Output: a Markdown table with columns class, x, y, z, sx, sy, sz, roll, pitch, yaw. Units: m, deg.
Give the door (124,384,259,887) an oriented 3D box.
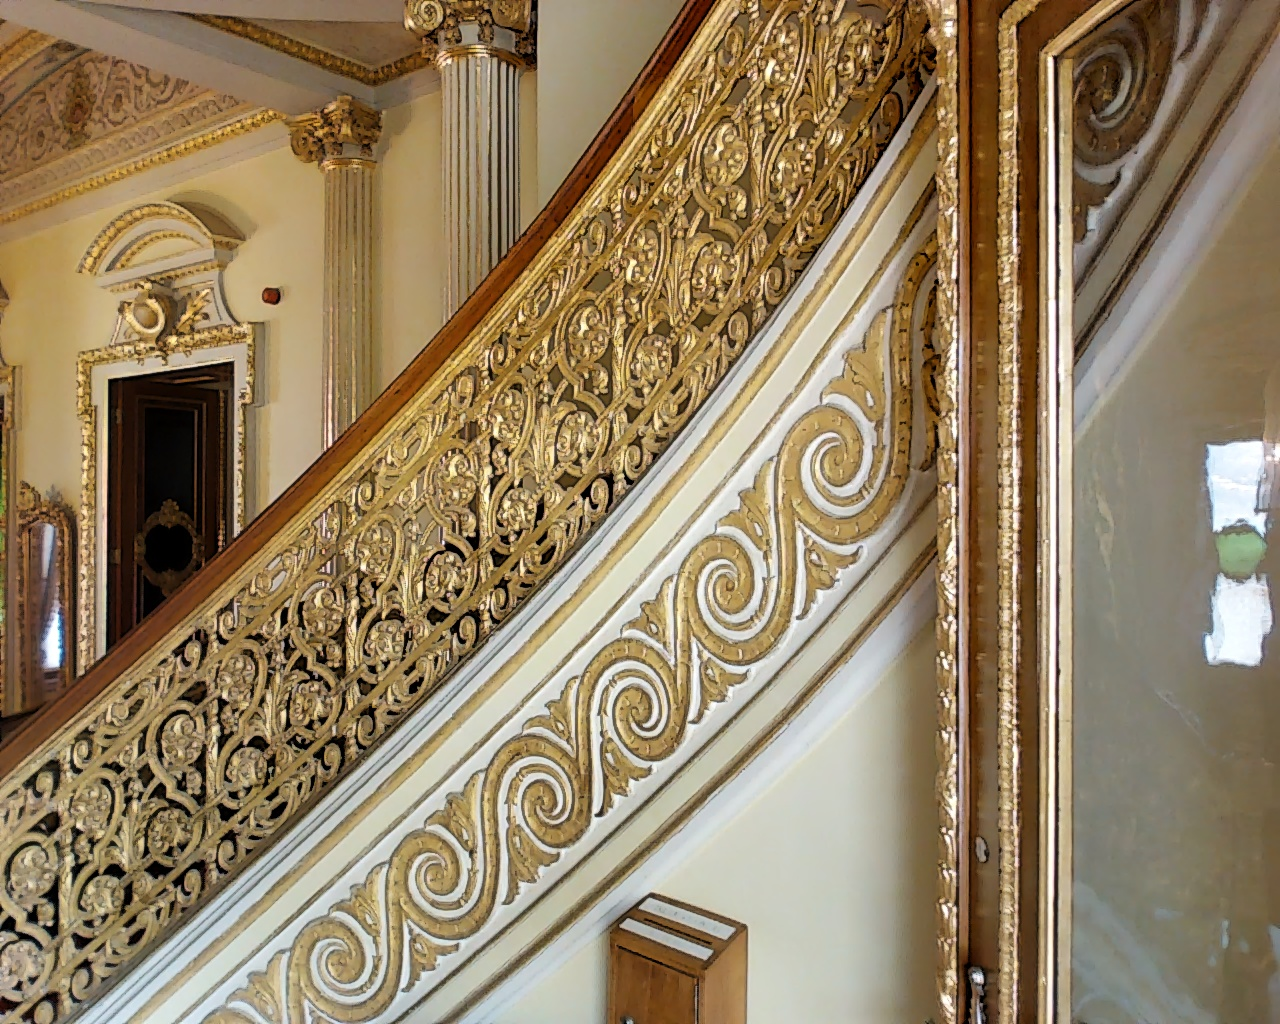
| class | x | y | z | sx | sy | sz | roll | pitch | yaw |
| --- | --- | --- | --- | --- | --- | --- | --- | --- | --- |
| door | -3.069 | 0.810 | 7.400 | 0.160 | 3.281 | 0.840 | 0 | 0 | 40 |
